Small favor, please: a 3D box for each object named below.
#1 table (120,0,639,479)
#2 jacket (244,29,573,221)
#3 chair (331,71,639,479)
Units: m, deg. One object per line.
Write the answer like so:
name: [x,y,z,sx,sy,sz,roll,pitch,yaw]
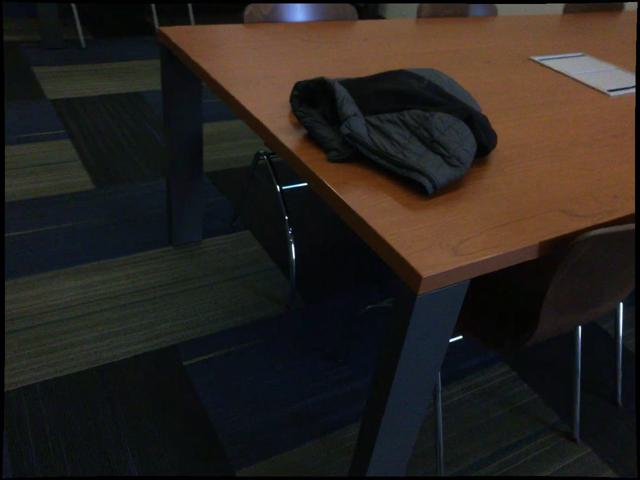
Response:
table: [0.808,-0.271,2.080,2.526,0.841,1.410,-16,43,-30]
jacket: [0.170,-0.291,1.260,0.489,0.150,0.500,-16,43,-30]
chair: [0.459,0.050,1.410,0.539,0.671,0.610,-16,42,-30]
